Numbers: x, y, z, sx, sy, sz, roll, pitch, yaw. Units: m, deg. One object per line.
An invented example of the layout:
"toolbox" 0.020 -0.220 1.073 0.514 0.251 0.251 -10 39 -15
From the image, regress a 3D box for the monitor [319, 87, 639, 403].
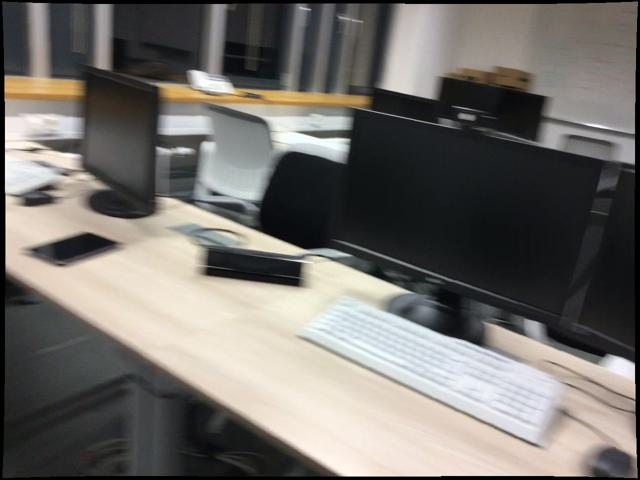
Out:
"monitor" 0.330 -0.030 1.250 0.640 0.490 0.170 20 24 32

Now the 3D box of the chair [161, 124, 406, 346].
"chair" -0.140 -0.070 2.010 0.630 0.520 0.510 20 24 32
